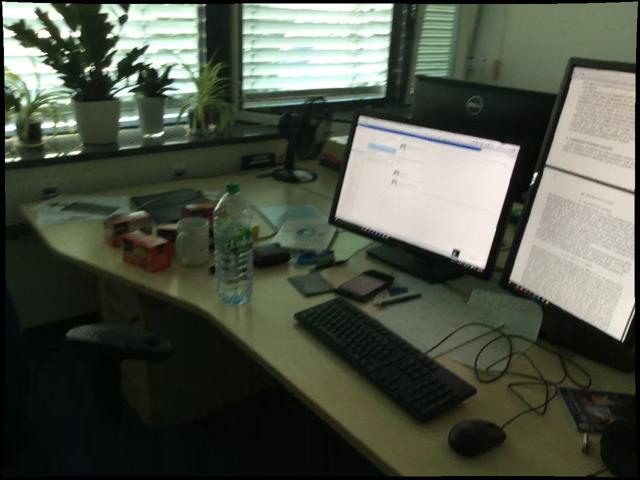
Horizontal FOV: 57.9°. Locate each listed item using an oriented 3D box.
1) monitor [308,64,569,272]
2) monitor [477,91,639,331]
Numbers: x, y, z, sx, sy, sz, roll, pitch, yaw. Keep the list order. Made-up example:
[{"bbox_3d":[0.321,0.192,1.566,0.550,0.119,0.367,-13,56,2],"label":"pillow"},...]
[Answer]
[{"bbox_3d":[0.280,-0.230,1.570,0.620,0.400,0.250,21,30,37],"label":"monitor"},{"bbox_3d":[0.579,-0.090,1.250,0.200,0.380,0.410,-11,26,-25],"label":"monitor"}]
